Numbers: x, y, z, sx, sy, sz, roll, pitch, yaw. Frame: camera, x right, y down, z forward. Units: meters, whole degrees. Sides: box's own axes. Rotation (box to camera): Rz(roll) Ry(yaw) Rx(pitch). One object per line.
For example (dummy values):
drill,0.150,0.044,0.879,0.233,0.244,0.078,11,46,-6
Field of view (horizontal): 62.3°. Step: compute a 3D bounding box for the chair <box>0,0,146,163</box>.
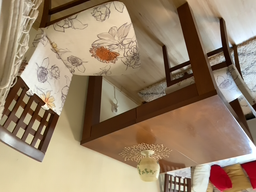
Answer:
chair,-0.240,-0.210,1.120,0.570,0.950,0.470,-6,145,6
